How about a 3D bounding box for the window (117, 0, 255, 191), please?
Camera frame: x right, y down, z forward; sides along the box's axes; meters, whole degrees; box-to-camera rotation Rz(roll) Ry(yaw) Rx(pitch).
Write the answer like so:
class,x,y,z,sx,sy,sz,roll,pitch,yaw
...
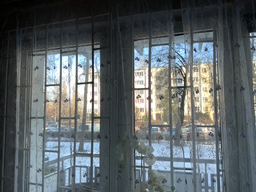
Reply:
class,x,y,z,sx,sy,sz,roll,pitch,yaw
window,0.780,0.160,1.030,1.700,1.680,0.190,-1,-5,18
